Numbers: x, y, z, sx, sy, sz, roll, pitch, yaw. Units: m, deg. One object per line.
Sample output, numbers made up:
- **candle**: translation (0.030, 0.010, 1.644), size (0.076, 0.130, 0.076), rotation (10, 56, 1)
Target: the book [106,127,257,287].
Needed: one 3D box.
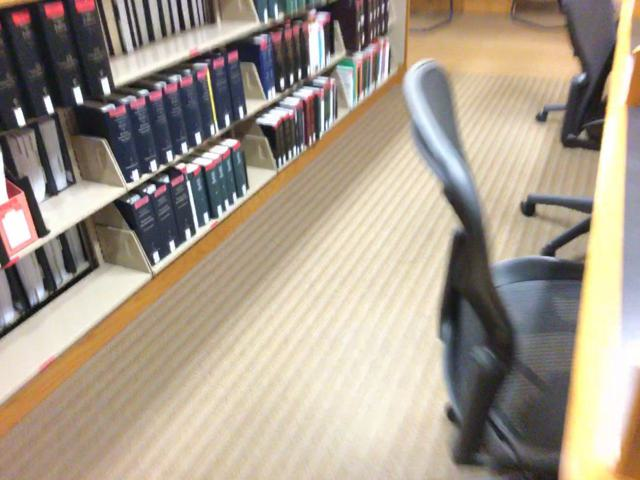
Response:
- **book**: translation (-0.490, -0.160, 2.230), size (0.110, 0.290, 0.750), rotation (9, 35, 22)

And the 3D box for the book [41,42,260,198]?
- **book**: translation (-0.560, -0.480, 2.120), size (0.290, 0.280, 0.810), rotation (9, 35, 22)

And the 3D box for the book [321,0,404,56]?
- **book**: translation (0.280, -1.370, 3.460), size (0.190, 0.290, 0.890), rotation (9, 35, 22)

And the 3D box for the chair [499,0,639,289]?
- **chair**: translation (1.110, -0.450, 2.050), size (0.660, 1.010, 0.640), rotation (15, 37, 30)

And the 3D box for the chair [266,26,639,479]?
- **chair**: translation (0.390, 0.210, 1.060), size (0.690, 1.020, 0.610), rotation (4, 33, 15)
